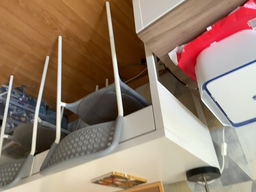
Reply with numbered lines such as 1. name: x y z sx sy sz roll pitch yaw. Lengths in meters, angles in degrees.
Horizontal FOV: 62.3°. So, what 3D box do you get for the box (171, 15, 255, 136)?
1. box: 0.470 -0.050 0.840 0.400 0.180 0.450 -26 139 29
